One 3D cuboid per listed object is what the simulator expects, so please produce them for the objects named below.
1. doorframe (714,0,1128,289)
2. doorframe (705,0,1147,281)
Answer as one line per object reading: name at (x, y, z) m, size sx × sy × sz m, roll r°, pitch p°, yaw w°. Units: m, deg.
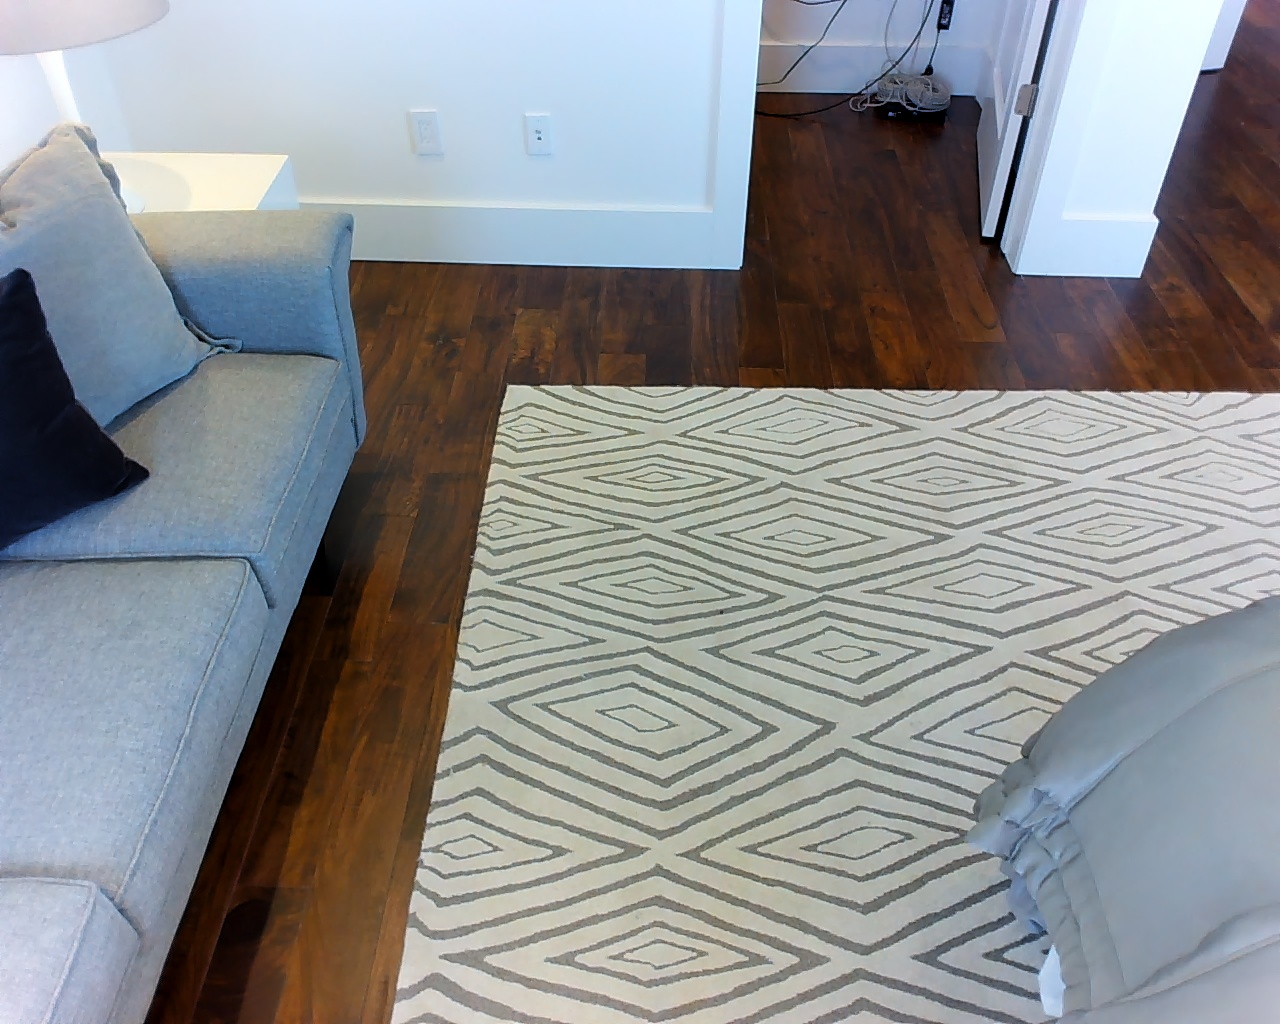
doorframe at (0.710, -1.570, 2.550) m, size 0.960 × 2.150 × 0.310 m, roll 1°, pitch 41°, yaw 1°
doorframe at (0.720, -1.520, 2.480) m, size 1.050 × 2.150 × 0.080 m, roll 1°, pitch 41°, yaw 1°
